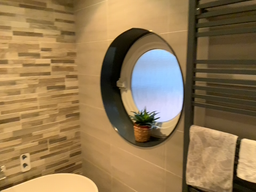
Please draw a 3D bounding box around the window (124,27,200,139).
[{"bbox_3d":[0.230,-0.120,1.730,0.080,0.770,0.690,-10,14,-40],"label":"window"}]

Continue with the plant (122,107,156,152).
[{"bbox_3d":[0.090,0.260,1.720,0.220,0.280,0.170,-9,13,-39],"label":"plant"}]
